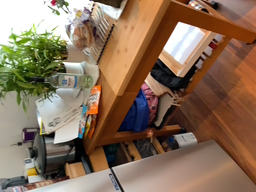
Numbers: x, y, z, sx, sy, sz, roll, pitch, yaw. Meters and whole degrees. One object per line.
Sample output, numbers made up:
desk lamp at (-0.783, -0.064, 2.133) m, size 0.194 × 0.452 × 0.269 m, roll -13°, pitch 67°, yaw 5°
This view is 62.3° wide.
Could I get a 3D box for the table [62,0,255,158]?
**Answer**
table at (0.170, -0.170, 1.360) m, size 0.510 × 0.840 × 0.940 m, roll 56°, pitch 131°, yaw 35°
